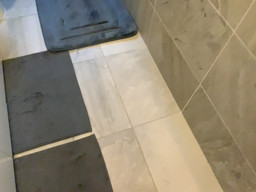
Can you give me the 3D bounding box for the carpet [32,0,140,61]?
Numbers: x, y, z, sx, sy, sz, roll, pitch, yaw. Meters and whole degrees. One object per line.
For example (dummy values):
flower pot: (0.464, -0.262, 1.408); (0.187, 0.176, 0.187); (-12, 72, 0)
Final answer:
carpet: (-0.370, -0.680, 1.570); (0.610, 0.040, 0.880); (-18, 64, -14)
